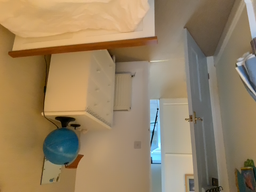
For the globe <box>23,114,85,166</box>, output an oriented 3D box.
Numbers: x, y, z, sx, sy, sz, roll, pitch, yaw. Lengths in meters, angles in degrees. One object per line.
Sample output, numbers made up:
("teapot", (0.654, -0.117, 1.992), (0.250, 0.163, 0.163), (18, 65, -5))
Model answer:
("globe", (-0.600, 0.380, 1.790), (0.370, 0.390, 0.270), (-3, 162, 11))
